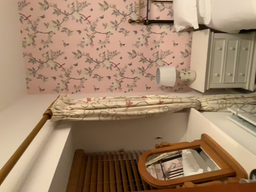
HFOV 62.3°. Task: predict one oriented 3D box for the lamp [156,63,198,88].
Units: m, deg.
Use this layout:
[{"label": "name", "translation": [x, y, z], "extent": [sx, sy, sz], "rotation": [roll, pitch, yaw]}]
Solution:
[{"label": "lamp", "translation": [0.550, -0.240, 2.420], "extent": [0.190, 0.420, 0.250], "rotation": [-117, 26, -74]}]
